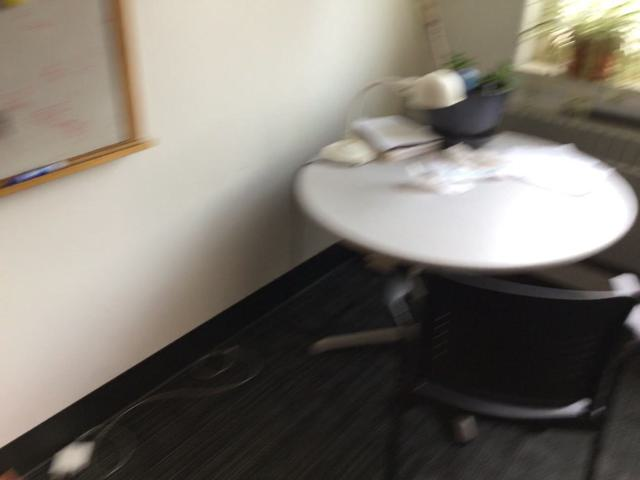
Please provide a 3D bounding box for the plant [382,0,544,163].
[{"bbox_3d":[0.490,-0.720,1.970,0.370,0.760,0.400,21,36,34],"label":"plant"}]

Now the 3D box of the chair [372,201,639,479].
[{"bbox_3d":[0.430,0.360,1.530,0.560,0.820,0.420,1,29,4],"label":"chair"}]

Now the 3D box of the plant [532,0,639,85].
[{"bbox_3d":[1.010,-0.750,2.120,0.330,0.260,0.250,21,36,34],"label":"plant"}]
